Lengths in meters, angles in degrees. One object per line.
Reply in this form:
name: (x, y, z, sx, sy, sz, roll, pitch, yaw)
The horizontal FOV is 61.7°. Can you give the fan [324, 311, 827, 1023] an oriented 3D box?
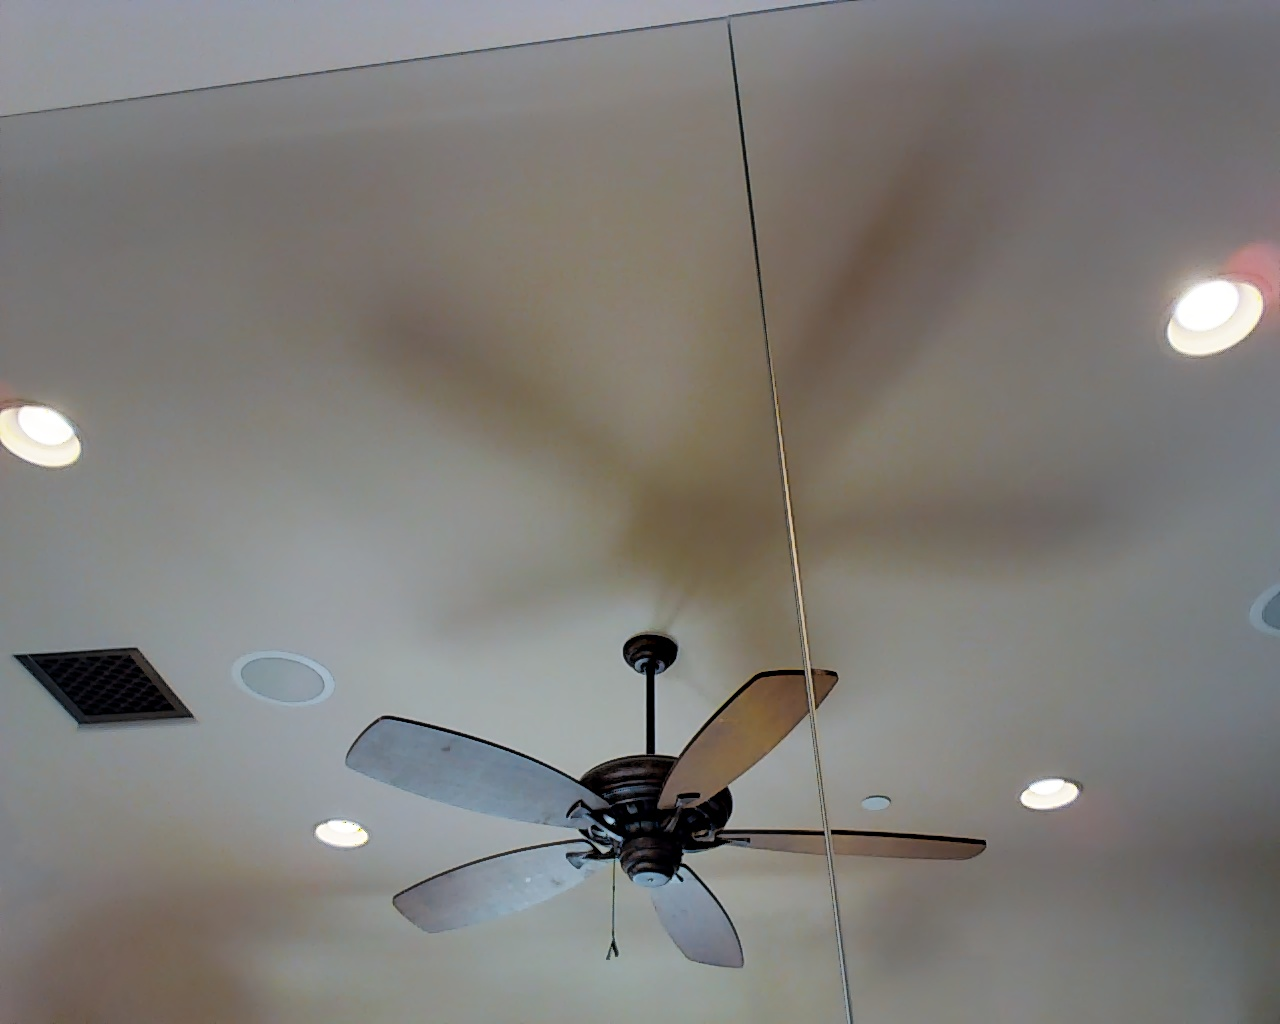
fan: (-0.100, 0.540, 2.210, 0.390, 1.380, 1.280, -22, 48, -9)
